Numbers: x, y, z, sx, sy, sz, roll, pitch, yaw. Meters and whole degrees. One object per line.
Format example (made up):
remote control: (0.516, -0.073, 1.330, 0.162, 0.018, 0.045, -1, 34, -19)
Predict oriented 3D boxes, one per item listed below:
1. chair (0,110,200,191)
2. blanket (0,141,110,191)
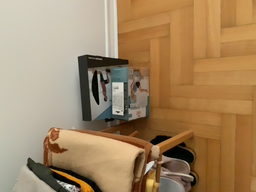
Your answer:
chair: (-0.150, 0.410, 0.860, 0.490, 1.010, 0.550, 5, 97, 39)
blanket: (-0.290, 0.410, 0.750, 0.330, 0.280, 0.370, 9, 99, 39)
